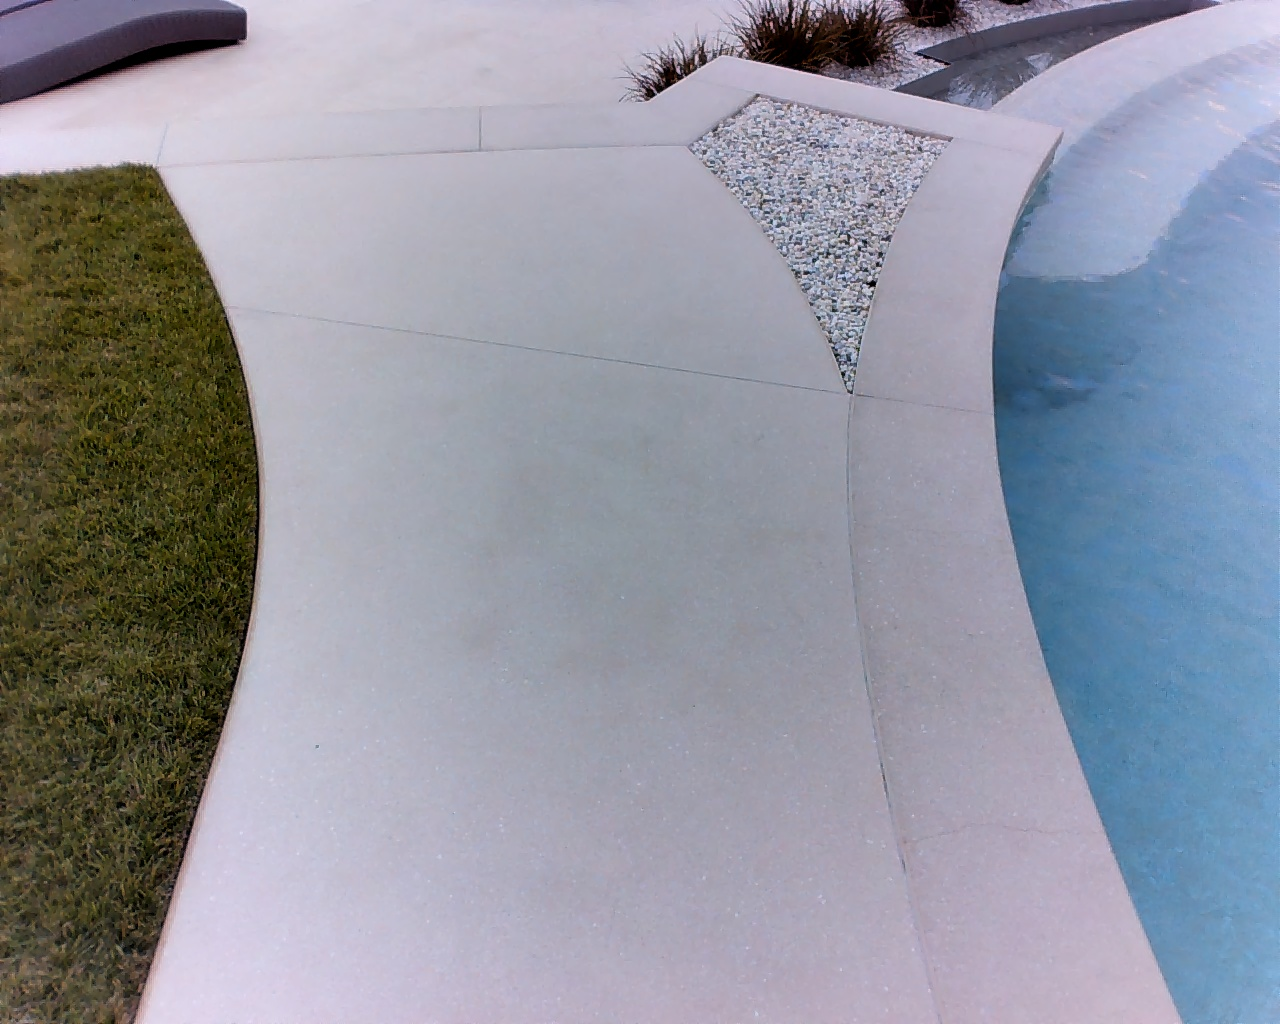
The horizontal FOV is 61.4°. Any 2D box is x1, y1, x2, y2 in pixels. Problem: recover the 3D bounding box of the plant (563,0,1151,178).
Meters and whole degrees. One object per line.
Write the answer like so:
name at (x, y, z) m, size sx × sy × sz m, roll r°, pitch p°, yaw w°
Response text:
plant at (1.510, -2.780, 5.960) m, size 4.430 × 0.520 × 0.600 m, roll -29°, pitch 50°, yaw -31°
